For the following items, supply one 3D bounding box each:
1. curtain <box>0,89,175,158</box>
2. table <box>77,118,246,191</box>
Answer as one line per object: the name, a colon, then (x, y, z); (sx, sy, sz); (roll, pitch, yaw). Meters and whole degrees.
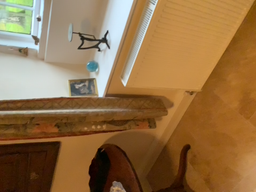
curtain: (-0.540, 0.140, 1.170); (0.250, 1.820, 0.250); (56, 135, 44)
table: (0.170, 0.750, 1.540); (0.810, 0.750, 0.810); (55, 134, 45)
